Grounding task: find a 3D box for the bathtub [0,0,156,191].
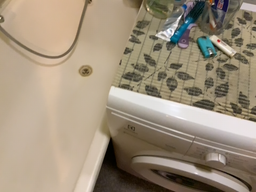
[{"bbox_3d":[-0.380,0.120,1.060,0.680,0.600,1.420,15,63,6],"label":"bathtub"}]
